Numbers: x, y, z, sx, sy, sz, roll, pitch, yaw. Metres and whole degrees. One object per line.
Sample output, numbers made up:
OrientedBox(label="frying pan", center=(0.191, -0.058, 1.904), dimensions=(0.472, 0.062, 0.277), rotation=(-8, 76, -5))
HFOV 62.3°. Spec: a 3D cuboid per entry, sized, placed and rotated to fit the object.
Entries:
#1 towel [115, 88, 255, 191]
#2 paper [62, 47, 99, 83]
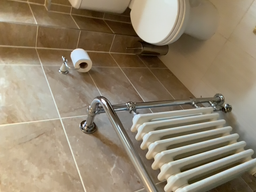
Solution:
OrientedBox(label="towel", center=(0.370, 0.220, 0.980), dimensions=(0.560, 0.700, 0.120), rotation=(59, 138, 33))
OrientedBox(label="paper", center=(-0.280, -0.180, 1.240), dimensions=(0.130, 0.150, 0.160), rotation=(56, 136, 35))
